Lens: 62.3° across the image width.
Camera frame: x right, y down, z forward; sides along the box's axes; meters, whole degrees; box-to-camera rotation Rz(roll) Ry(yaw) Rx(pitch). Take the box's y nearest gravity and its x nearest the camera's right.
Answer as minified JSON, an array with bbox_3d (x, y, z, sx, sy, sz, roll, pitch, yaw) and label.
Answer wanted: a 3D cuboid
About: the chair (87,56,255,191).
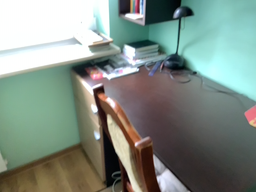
[{"bbox_3d":[0.190,0.380,1.000,0.550,0.950,0.440,-15,35,-23],"label":"chair"}]
